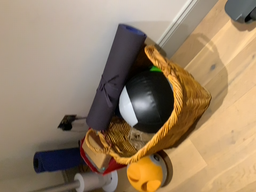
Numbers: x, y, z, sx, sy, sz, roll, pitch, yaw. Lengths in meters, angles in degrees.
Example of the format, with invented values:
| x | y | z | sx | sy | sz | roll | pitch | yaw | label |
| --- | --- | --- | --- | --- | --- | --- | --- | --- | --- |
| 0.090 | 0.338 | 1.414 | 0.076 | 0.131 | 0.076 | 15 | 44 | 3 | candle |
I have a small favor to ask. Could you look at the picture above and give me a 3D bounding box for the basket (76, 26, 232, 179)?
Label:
| x | y | z | sx | sy | sz | roll | pitch | yaw | label |
| --- | --- | --- | --- | --- | --- | --- | --- | --- | --- |
| 0.110 | 0.050 | 1.250 | 0.610 | 0.460 | 0.510 | -52 | 54 | 30 | basket |
